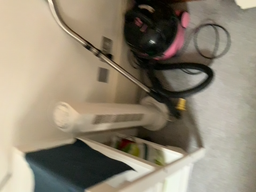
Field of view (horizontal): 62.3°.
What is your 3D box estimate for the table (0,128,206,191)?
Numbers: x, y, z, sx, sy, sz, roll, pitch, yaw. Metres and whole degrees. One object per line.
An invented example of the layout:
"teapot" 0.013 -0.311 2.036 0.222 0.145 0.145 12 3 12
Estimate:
"table" -0.080 0.640 1.080 0.560 0.910 0.770 9 93 37
